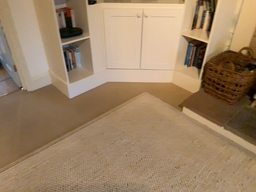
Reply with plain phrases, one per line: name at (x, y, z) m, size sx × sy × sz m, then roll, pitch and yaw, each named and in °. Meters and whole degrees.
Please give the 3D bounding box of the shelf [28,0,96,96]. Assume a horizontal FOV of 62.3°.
shelf at (-0.660, -0.950, 1.960) m, size 0.380 × 1.950 × 0.440 m, roll -29°, pitch 46°, yaw -34°

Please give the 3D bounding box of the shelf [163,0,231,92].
shelf at (0.740, -1.000, 2.080) m, size 0.440 × 1.940 × 0.380 m, roll -30°, pitch 46°, yaw -34°
